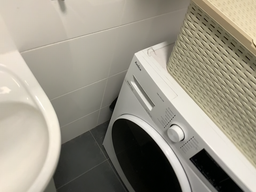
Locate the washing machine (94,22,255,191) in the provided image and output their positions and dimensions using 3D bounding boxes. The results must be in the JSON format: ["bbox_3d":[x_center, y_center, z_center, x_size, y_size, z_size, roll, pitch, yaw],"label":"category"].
[{"bbox_3d":[0.250,0.230,1.050,0.510,0.860,0.610,-24,66,-28],"label":"washing machine"}]
